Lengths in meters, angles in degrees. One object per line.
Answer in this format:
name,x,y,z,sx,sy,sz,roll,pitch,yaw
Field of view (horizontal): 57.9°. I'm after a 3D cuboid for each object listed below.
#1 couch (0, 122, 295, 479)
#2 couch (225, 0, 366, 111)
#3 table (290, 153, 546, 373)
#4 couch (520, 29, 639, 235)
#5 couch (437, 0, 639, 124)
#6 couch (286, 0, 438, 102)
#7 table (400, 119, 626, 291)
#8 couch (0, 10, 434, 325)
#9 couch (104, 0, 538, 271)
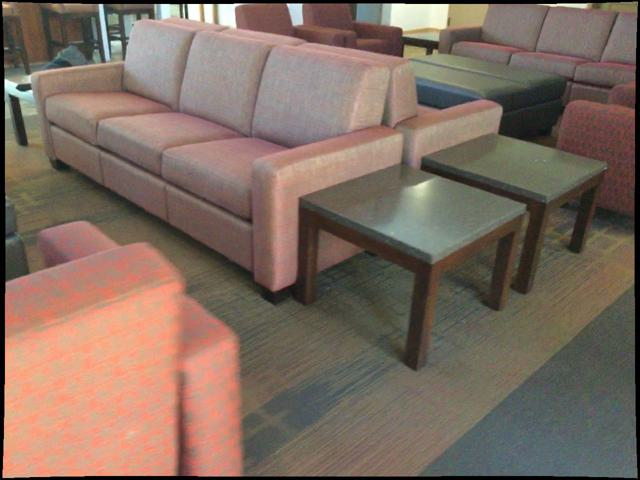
couch,-0.739,0.340,1.270,0.920,0.811,1.040,-21,36,-36
couch,-0.230,-1.732,5.220,0.850,0.811,0.910,-21,36,-36
table,0.360,0.030,2.250,0.710,0.440,0.630,-21,36,-36
couch,1.828,-0.621,3.130,1.059,0.801,0.860,-22,36,-36
couch,2.328,-1.762,5.250,0.970,0.851,2.309,-21,36,-36
couch,0.390,-1.932,5.650,1.069,0.801,0.950,-21,36,-36
table,0.879,-0.210,2.700,0.710,0.440,0.660,-21,36,-36
couch,-0.709,-0.611,3.050,0.890,0.841,2.429,-24,37,-39
couch,-0.200,-0.871,3.480,1.049,0.871,2.539,-22,36,-36
